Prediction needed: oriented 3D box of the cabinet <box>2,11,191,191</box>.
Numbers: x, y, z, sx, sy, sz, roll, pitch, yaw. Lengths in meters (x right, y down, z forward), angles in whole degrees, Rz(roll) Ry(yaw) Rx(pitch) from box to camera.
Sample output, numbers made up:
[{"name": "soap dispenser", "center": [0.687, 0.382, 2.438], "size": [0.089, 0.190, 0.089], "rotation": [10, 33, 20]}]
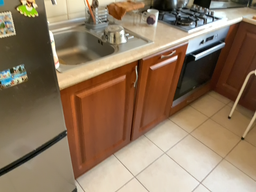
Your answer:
[{"name": "cabinet", "center": [-0.180, -0.030, 1.550], "size": [0.960, 0.860, 0.610], "rotation": [-26, 47, -34]}]

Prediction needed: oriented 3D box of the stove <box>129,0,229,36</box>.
[{"name": "stove", "center": [0.410, -0.670, 1.730], "size": [0.580, 0.060, 0.560], "rotation": [-26, 47, -34]}]
